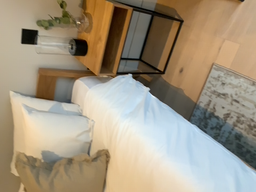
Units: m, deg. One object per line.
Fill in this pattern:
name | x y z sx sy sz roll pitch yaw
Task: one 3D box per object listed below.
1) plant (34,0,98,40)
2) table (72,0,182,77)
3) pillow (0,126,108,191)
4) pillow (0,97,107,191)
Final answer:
plant | -0.340 -0.450 1.160 0.140 0.270 0.220 39 121 39
table | 0.000 -0.390 1.450 0.300 0.620 0.420 38 121 39
pillow | -0.360 0.510 1.130 0.180 0.450 0.560 39 145 39
pillow | -0.420 0.390 1.250 0.210 0.470 0.620 41 152 35
